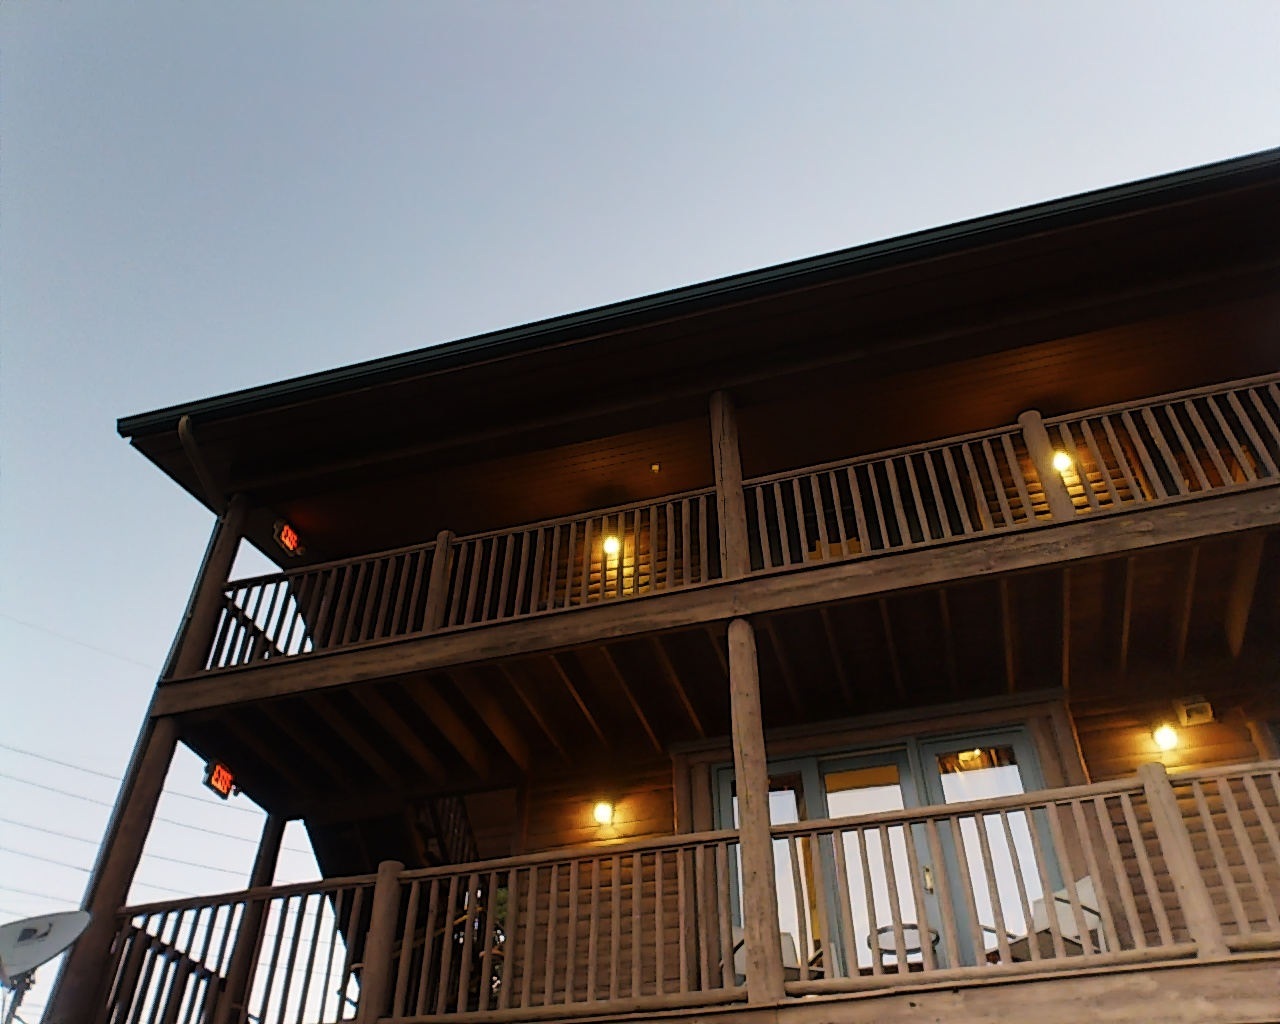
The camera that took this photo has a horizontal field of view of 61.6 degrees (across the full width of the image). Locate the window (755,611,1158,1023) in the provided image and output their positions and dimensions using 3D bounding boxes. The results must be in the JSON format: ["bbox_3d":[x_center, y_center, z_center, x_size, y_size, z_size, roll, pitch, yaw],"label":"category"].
[{"bbox_3d":[1.939,2.181,7.070,1.979,2.541,1.150,-12,-43,13],"label":"window"}]

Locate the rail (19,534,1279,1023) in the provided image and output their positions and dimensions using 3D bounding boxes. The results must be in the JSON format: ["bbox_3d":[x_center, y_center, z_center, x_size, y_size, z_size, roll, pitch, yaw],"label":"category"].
[{"bbox_3d":[0.750,1.911,6.730,9.786,2.571,0.590,-11,-43,13],"label":"rail"}]
